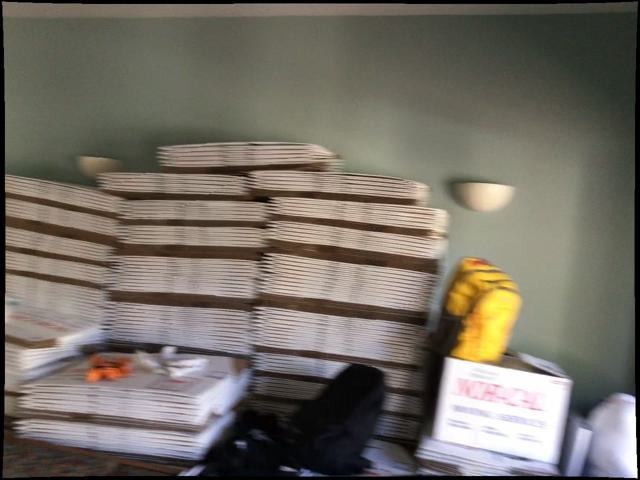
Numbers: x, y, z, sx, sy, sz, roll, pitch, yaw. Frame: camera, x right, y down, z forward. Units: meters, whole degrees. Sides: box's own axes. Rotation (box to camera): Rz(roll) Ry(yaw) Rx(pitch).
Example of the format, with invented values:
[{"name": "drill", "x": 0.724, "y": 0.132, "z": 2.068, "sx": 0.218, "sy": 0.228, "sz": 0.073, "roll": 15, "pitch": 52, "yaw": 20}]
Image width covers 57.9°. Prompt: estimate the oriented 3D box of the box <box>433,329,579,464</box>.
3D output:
[{"name": "box", "x": 0.699, "y": 0.581, "z": 2.220, "sx": 0.470, "sy": 0.370, "sz": 0.250, "roll": 6, "pitch": 5, "yaw": 15}]
